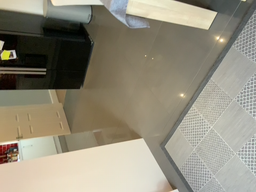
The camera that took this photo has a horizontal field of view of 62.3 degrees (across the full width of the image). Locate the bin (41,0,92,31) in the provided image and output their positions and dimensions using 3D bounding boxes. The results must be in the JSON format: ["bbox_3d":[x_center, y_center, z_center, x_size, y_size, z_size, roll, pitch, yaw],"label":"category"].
[{"bbox_3d":[-0.920,-1.270,3.140,0.420,0.590,0.360,59,138,37],"label":"bin"}]
